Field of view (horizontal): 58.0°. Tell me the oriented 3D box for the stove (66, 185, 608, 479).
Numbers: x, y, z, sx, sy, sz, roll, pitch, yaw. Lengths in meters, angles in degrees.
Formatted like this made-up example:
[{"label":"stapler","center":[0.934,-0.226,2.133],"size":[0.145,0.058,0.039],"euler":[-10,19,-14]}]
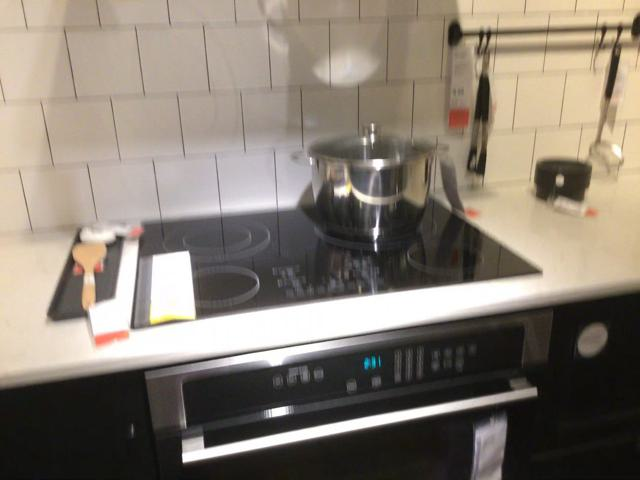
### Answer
[{"label":"stove","center":[0.000,0.450,1.390],"size":[0.880,0.930,0.740],"euler":[-8,20,-13]}]
